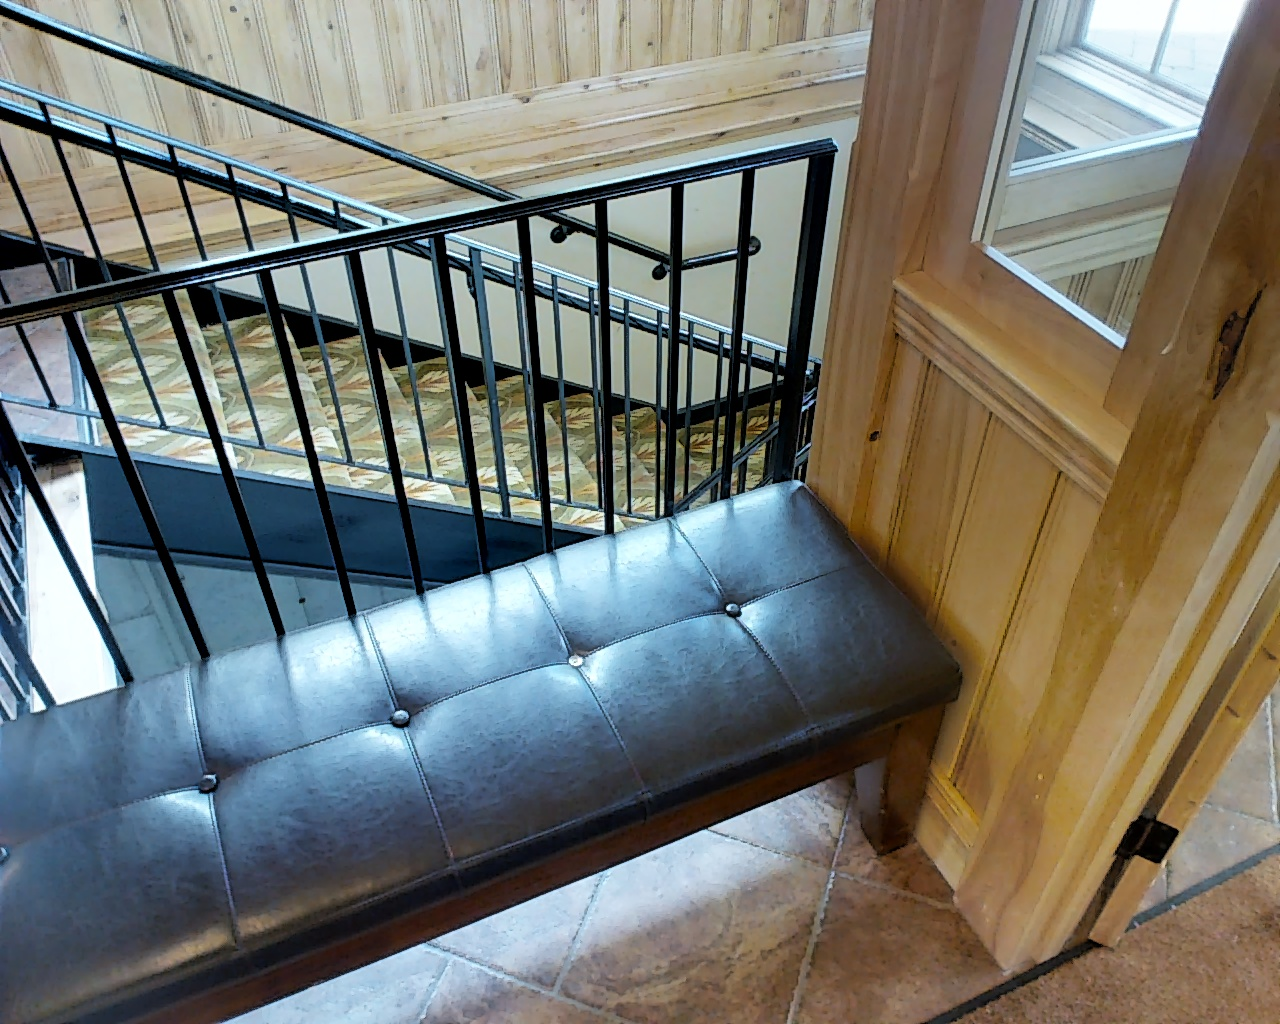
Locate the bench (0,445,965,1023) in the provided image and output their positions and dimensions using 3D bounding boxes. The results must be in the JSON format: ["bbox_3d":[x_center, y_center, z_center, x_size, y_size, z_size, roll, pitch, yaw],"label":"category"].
[{"bbox_3d":[-0.550,0.490,1.480,1.940,0.450,0.530,-17,45,-18],"label":"bench"}]
